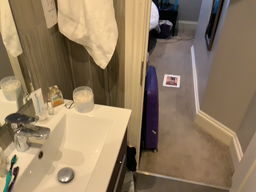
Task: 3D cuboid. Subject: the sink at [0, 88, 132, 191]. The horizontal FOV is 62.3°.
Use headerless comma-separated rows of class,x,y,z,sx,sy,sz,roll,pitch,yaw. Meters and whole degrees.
sink,-0.240,0.240,0.820,0.390,0.150,0.670,8,37,8
